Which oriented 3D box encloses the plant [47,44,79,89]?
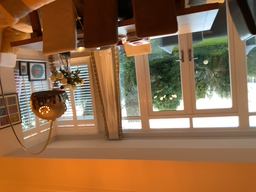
[{"bbox_3d":[-0.950,-0.430,3.140,0.170,0.600,0.410,-3,-174,20],"label":"plant"}]
